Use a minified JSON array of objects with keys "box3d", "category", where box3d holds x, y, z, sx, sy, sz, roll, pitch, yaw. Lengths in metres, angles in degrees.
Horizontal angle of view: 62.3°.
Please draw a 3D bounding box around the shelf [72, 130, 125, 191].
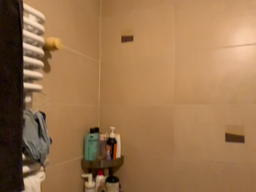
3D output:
[{"box3d":[-0.180,0.580,1.250,0.270,0.730,0.190,2,-4,-23],"category":"shelf"}]
